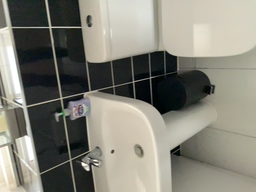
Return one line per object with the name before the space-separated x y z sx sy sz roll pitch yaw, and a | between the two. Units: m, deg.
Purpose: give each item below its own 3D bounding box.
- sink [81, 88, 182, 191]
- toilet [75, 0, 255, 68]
sink | 0.010 0.270 0.960 0.430 0.170 0.550 10 109 46
toilet | 0.270 -0.370 0.960 0.630 0.760 0.380 10 109 46
